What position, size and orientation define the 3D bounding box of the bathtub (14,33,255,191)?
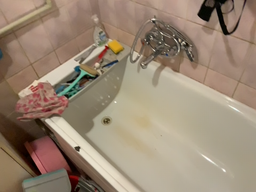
[{"bbox_3d":[0.240,0.350,1.130,1.630,0.560,0.690,33,60,28],"label":"bathtub"}]
